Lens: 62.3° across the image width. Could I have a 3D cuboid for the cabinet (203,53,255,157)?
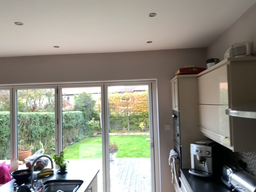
[{"bbox_3d":[1.080,0.080,2.140,0.340,0.800,1.020,-1,-2,5],"label":"cabinet"}]
